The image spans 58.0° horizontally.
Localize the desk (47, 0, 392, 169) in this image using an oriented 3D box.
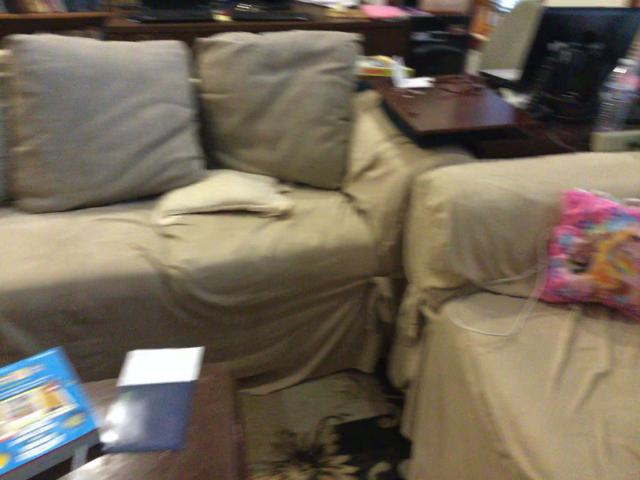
[{"bbox_3d":[-0.520,-0.950,3.100,1.570,0.860,0.680,-5,30,-17],"label":"desk"}]
